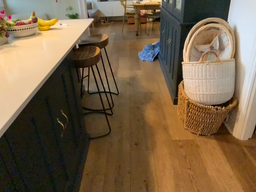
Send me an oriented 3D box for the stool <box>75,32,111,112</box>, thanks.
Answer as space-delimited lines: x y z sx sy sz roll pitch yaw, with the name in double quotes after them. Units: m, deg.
-0.360 -0.270 2.380 0.290 0.790 0.390 -4 29 -3 "stool"
